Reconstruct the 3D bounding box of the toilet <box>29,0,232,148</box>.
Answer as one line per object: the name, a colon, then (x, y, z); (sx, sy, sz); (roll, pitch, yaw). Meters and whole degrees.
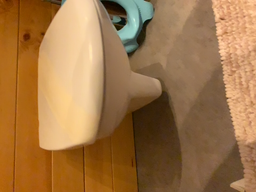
toilet: (-0.050, -0.030, 0.700); (0.500, 0.440, 0.350); (-22, 69, 56)
